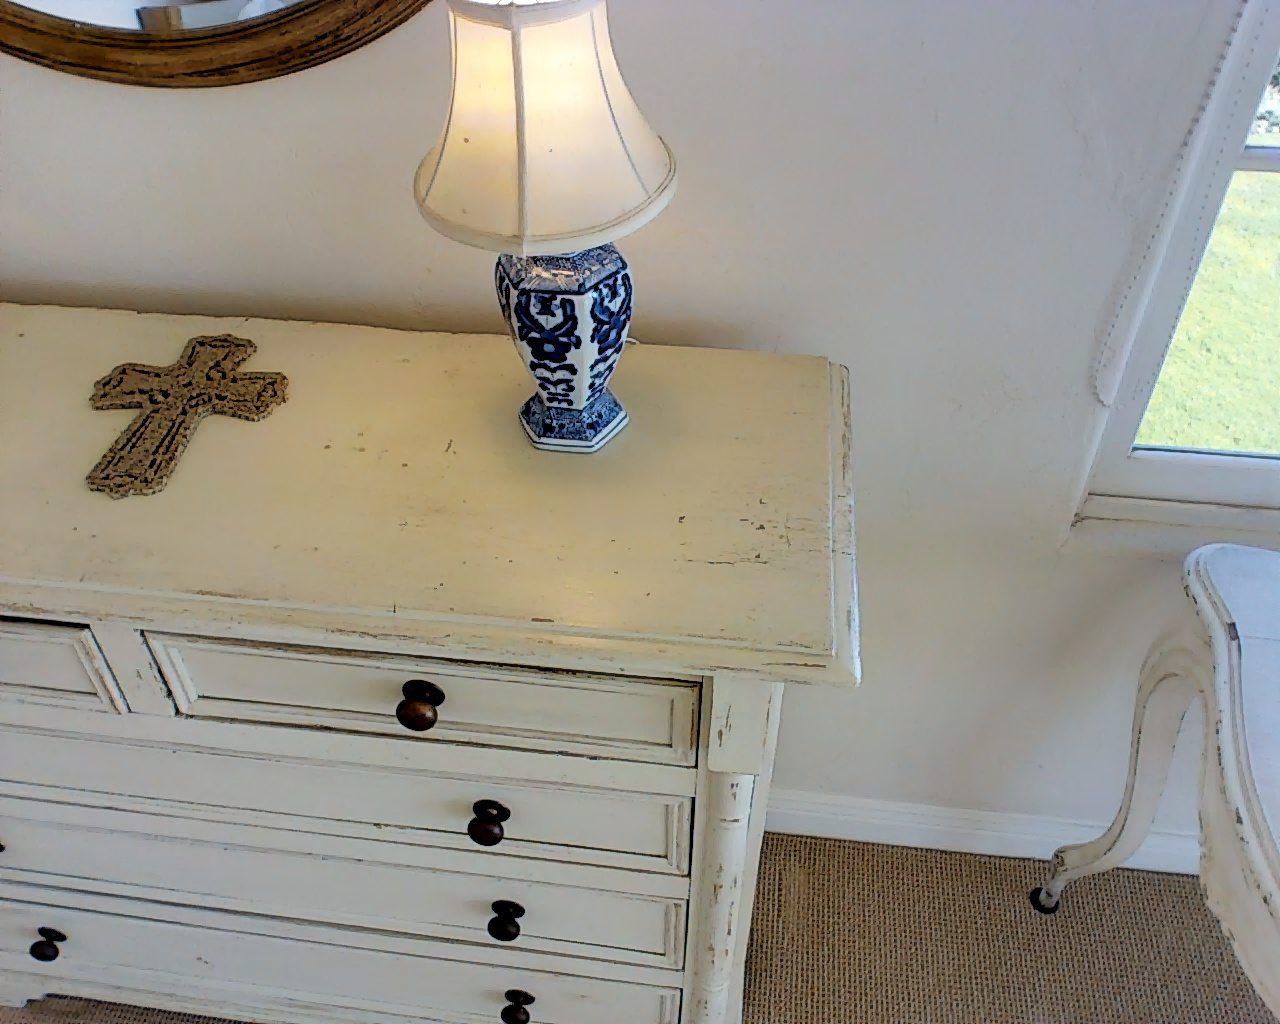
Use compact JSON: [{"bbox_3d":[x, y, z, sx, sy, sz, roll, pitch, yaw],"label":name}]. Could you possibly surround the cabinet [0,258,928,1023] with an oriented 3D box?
[{"bbox_3d":[-0.440,0.280,1.380,1.370,1.030,0.520,3,42,5],"label":"cabinet"}]
